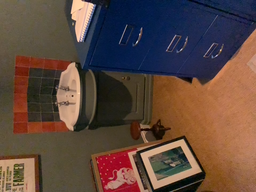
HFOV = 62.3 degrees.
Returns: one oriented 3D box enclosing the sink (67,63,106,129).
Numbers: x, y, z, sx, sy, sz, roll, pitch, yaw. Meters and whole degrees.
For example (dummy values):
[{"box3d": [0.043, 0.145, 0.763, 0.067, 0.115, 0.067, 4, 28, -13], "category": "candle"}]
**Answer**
[{"box3d": [-0.400, 0.000, 1.940, 0.420, 0.170, 0.420, -61, 39, 38], "category": "sink"}]
